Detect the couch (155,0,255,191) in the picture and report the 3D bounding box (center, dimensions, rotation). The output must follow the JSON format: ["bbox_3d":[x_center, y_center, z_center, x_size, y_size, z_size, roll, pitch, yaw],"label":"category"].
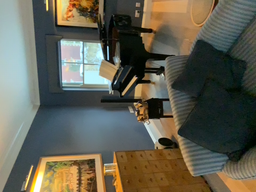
[{"bbox_3d":[0.810,-0.080,1.450,0.930,0.820,1.220,113,154,-59],"label":"couch"}]
